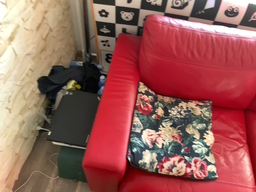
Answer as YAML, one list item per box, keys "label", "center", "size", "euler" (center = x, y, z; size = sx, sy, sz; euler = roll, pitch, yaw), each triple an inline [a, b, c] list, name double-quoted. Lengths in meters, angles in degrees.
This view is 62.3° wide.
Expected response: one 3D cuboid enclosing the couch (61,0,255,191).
- label: "couch"
  center: [0.700, 0.190, 1.290]
  size: [1.750, 0.840, 1.060]
  euler: [11, 55, 1]
